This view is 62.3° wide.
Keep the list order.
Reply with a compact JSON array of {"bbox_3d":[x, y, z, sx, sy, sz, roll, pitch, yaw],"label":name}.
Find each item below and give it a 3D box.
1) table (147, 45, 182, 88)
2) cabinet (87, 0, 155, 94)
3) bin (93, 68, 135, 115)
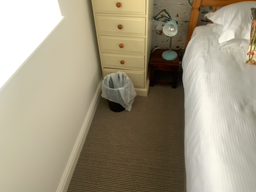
[{"bbox_3d":[0.350,-0.290,2.050,0.290,0.280,0.290,6,44,8],"label":"table"},{"bbox_3d":[-0.020,-0.580,1.790,0.440,1.080,0.450,6,44,8],"label":"cabinet"},{"bbox_3d":[-0.100,-0.040,1.810,0.290,0.290,0.250,5,44,8],"label":"bin"}]
